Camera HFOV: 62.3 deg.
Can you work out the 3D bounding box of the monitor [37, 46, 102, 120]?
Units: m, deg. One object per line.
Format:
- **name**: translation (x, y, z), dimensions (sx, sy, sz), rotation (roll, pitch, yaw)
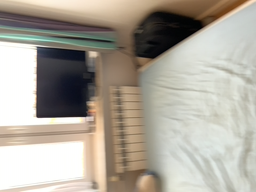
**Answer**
- **monitor**: translation (-0.540, -0.130, 1.980), dimensions (0.060, 0.540, 0.650), rotation (161, 105, -64)
